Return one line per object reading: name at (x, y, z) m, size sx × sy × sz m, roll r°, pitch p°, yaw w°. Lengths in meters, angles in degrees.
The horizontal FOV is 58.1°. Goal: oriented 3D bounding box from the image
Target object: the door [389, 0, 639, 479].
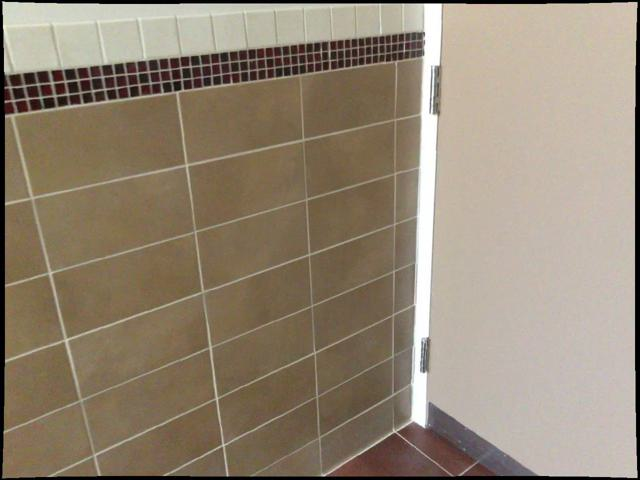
door at (0.588, 0.040, 1.320) m, size 0.080 × 1.543 × 1.059 m, roll -16°, pitch 27°, yaw -34°
